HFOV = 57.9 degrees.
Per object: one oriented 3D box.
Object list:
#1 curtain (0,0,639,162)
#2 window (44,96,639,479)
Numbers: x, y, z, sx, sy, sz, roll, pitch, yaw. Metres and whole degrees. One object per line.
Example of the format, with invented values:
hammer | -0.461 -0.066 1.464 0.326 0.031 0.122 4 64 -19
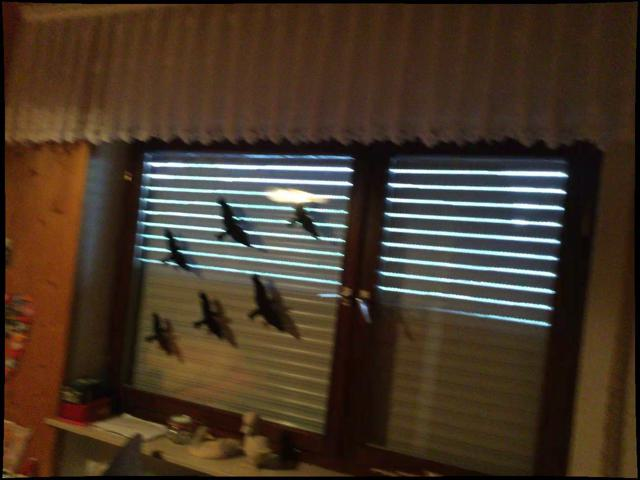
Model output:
curtain | -0.050 -0.571 1.870 2.968 0.551 0.220 5 1 25
window | -0.020 0.230 2.080 2.108 1.351 0.420 5 1 25
